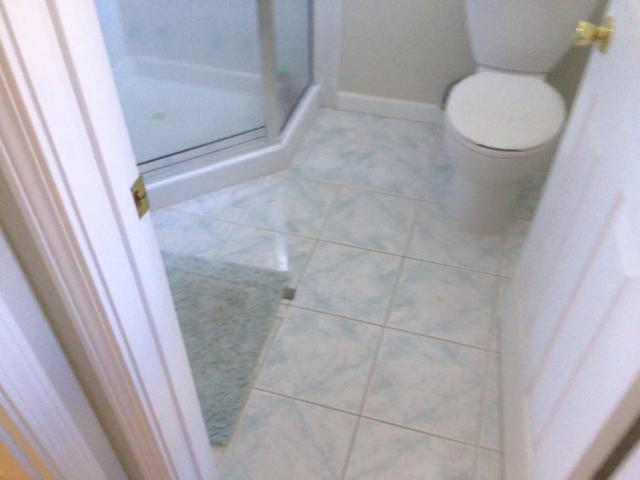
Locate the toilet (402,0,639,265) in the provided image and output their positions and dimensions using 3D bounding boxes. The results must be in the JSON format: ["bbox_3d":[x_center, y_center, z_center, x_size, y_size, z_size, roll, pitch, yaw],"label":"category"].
[{"bbox_3d":[0.620,-0.500,1.900,0.480,0.810,0.720,12,44,13],"label":"toilet"}]

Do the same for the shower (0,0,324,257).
[{"bbox_3d":[-0.620,-1.090,1.720,0.990,2.010,0.900,-16,45,-17],"label":"shower"}]
